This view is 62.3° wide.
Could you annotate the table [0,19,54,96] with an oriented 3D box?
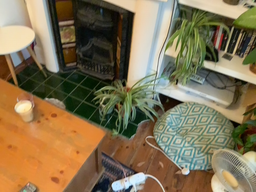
[{"bbox_3d":[-1.010,-0.360,1.980,0.370,0.470,0.410,22,48,13],"label":"table"}]
